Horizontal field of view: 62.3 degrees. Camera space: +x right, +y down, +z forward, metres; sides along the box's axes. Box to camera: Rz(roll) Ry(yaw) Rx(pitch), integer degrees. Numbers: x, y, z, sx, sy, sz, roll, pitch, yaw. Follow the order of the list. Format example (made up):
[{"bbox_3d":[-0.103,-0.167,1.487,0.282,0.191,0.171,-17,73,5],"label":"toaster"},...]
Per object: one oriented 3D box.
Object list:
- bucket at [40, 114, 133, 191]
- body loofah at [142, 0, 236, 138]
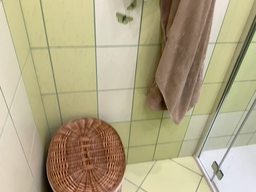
[{"bbox_3d":[-0.220,0.480,1.170,0.360,0.580,0.450,-4,38,-11],"label":"bucket"},{"bbox_3d":[0.260,-0.270,0.940,0.230,1.120,0.180,-6,39,-14],"label":"body loofah"}]
